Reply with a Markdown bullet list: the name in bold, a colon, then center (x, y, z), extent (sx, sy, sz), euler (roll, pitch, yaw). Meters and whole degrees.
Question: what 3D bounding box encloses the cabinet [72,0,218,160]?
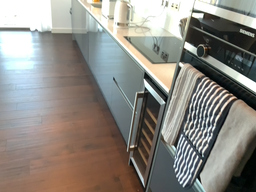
- **cabinet**: center (-0.240, -0.730, 3.070), extent (0.680, 0.900, 3.380), euler (-5, 33, -20)
